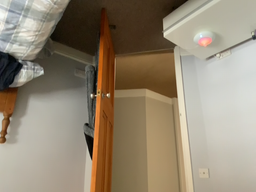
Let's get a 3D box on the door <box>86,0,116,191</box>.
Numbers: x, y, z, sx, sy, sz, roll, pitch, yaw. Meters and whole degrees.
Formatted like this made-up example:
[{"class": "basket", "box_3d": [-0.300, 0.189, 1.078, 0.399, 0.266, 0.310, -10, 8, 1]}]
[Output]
[{"class": "door", "box_3d": [-0.210, 0.220, 1.950, 0.050, 2.030, 0.820, -1, 159, 4]}]
